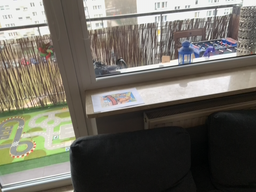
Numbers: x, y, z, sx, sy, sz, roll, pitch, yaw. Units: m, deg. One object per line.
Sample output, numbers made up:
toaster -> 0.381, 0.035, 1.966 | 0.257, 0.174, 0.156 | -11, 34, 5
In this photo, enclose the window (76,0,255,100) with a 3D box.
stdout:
window -> 0.400, -0.710, 1.330 | 1.440, 1.340, 0.140 | -10, 30, -11
